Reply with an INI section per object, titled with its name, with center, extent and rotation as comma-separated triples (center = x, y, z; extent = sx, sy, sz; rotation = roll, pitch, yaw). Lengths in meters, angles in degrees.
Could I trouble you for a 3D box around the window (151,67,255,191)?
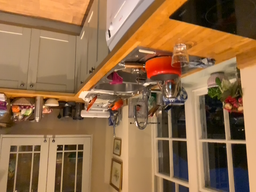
[window]
center = 0.640, 0.740, 1.910
extent = 0.120, 1.690, 1.420
rotation = 4, 170, -24
